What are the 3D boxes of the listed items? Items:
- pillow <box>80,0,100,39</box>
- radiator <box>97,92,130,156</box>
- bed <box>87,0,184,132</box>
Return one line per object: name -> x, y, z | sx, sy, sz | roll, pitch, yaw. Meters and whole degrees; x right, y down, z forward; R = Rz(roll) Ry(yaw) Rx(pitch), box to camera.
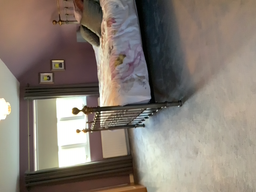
pillow -> -0.520, -1.090, 2.890 | 0.480, 0.220, 0.370 | 103, 158, -51
radiator -> -0.340, 0.610, 4.830 | 0.130, 0.590, 1.400 | 125, 139, -69
bed -> -0.110, -0.740, 3.180 | 1.690, 0.740, 2.250 | 127, 137, -69
